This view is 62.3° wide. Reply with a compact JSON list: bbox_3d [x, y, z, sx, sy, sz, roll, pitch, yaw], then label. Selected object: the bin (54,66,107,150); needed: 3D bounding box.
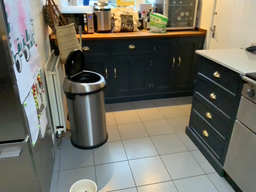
[{"bbox_3d":[-0.430,0.100,2.050,0.410,0.670,0.410,-3,26,-9],"label":"bin"}]
